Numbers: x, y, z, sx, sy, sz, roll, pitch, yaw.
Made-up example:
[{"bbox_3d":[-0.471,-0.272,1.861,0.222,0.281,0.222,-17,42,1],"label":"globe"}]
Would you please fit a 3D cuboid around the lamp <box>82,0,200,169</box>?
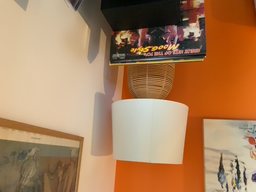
[{"bbox_3d":[0.090,-0.050,0.950,0.390,0.660,0.370,1,166,12],"label":"lamp"}]
